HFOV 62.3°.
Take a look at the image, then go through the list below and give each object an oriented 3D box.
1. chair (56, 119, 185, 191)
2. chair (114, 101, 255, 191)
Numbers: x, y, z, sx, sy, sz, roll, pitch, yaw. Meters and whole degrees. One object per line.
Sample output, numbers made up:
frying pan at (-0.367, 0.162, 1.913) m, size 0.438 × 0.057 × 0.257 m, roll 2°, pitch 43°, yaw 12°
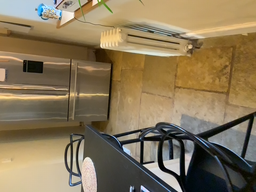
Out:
chair at (-0.060, 0.520, 1.920) m, size 0.550 × 1.000 × 0.510 m, roll 8°, pitch 96°, yaw 58°
chair at (0.520, 0.330, 1.000) m, size 0.510 × 1.010 × 0.490 m, roll 24°, pitch 110°, yaw 56°
